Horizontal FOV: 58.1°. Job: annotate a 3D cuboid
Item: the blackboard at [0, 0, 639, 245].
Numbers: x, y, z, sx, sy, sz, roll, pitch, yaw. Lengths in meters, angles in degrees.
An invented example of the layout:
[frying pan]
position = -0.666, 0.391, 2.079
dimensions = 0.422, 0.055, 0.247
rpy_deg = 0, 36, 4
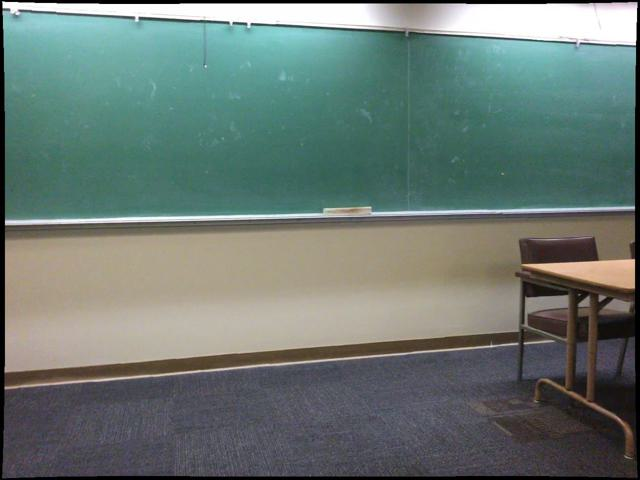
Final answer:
[blackboard]
position = 0.499, -0.712, 3.720
dimensions = 5.966, 1.343, 0.110
rpy_deg = -2, 7, -18

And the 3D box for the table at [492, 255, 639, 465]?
[table]
position = 1.865, 0.491, 2.980
dimensions = 1.626, 0.732, 0.910
rpy_deg = -2, 5, -17
